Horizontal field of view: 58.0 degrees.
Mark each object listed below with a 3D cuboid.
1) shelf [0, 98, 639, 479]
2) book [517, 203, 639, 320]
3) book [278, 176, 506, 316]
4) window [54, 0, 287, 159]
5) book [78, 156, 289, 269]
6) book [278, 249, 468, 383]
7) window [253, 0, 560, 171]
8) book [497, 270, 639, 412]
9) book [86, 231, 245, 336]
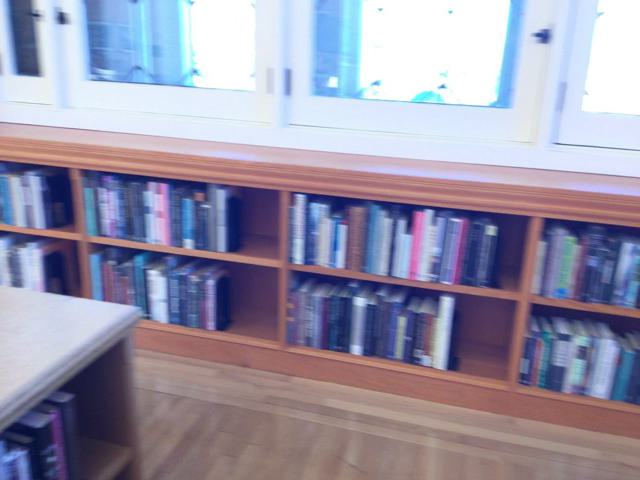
[{"bbox_3d":[0.200,0.110,2.250,3.550,0.990,0.530,9,18,15],"label":"shelf"},{"bbox_3d":[1.110,0.090,2.020,0.750,0.300,0.260,9,18,15],"label":"book"},{"bbox_3d":[0.280,0.000,2.270,0.810,0.360,0.320,9,18,15],"label":"book"},{"bbox_3d":[-0.610,-1.220,2.310,0.970,1.670,0.180,9,18,15],"label":"window"},{"bbox_3d":[-0.570,-0.140,2.470,0.790,0.310,0.350,9,18,15],"label":"book"},{"bbox_3d":[0.220,0.290,2.380,0.700,0.330,0.330,9,18,15],"label":"book"},{"bbox_3d":[0.330,-1.120,2.170,1.130,1.580,0.180,9,18,15],"label":"window"},{"bbox_3d":[1.060,0.380,2.130,0.730,0.360,0.270,9,18,15],"label":"book"},{"bbox_3d":[-0.680,0.180,2.560,0.650,0.310,0.220,9,18,15],"label":"book"}]
